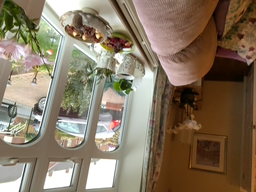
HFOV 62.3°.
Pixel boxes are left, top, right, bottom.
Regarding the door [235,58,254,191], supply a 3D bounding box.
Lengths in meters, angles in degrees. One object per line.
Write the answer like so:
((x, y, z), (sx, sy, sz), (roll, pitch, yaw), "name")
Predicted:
((1.880, 0.440, 3.440), (0.090, 1.930, 0.790), (4, 167, 20), "door")
